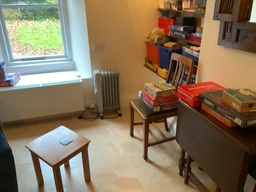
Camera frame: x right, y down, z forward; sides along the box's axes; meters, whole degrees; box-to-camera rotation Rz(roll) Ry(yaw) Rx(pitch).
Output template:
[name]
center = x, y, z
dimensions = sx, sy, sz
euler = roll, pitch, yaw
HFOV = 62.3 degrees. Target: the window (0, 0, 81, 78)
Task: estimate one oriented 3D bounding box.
[window]
center = -1.170, -1.040, 2.810
dimensions = 0.940, 1.530, 0.100
euler = -9, 26, -19
